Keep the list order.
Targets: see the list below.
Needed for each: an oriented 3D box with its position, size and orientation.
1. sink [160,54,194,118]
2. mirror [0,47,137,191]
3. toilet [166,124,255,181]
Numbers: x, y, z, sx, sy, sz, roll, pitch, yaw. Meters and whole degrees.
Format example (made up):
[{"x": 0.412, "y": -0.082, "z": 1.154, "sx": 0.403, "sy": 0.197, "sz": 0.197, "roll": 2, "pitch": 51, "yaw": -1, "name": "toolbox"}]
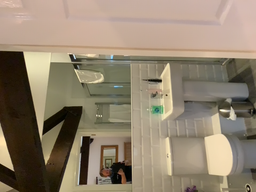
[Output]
[{"x": 0.470, "y": -0.080, "z": 2.120, "sx": 0.420, "sy": 0.180, "sz": 0.530, "roll": 103, "pitch": 167, "yaw": -72, "name": "sink"}, {"x": -0.670, "y": 0.340, "z": 2.280, "sx": 0.080, "sy": 1.510, "sz": 1.860, "roll": 104, "pitch": 166, "yaw": -73, "name": "mirror"}, {"x": 0.820, "y": 0.500, "z": 1.860, "sx": 0.630, "sy": 0.810, "sz": 0.400, "roll": 103, "pitch": 167, "yaw": -72, "name": "toilet"}]
